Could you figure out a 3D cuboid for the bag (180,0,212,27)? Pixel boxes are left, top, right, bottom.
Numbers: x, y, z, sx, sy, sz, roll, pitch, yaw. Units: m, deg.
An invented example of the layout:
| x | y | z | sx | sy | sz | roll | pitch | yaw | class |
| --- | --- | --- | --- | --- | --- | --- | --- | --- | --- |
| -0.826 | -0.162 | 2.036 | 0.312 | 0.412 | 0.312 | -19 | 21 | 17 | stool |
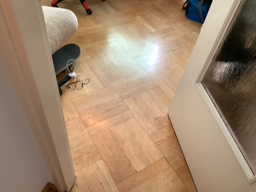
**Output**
| x | y | z | sx | sy | sz | roll | pitch | yaw | class |
| --- | --- | --- | --- | --- | --- | --- | --- | --- | --- |
| 0.840 | -1.070 | 2.580 | 0.270 | 0.220 | 0.390 | 21 | 49 | 10 | bag |
